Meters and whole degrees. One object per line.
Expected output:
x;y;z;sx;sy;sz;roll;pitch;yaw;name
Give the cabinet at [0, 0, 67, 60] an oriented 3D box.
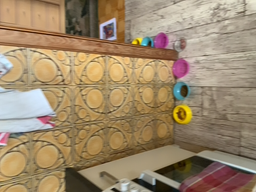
-1.330;-1.100;2.880;0.380;0.850;1.120;3;94;50;cabinet
